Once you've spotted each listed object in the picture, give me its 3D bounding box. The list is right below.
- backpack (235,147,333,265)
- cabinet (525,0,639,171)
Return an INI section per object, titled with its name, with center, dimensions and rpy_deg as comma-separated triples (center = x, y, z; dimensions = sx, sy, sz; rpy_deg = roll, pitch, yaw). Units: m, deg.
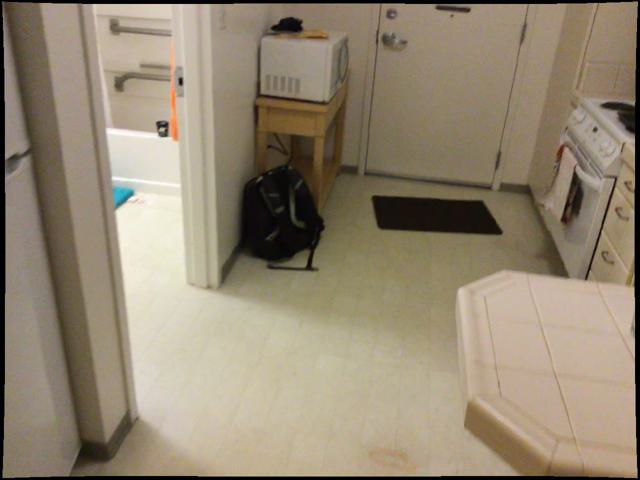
[backpack]
center = -0.180, -0.190, 3.010
dimensions = 0.400, 0.420, 0.460
rpy_deg = 8, 28, 7
[cabinet]
center = 1.708, -1.411, 3.050
dimensions = 0.689, 1.942, 0.660
rpy_deg = 8, 28, 7
